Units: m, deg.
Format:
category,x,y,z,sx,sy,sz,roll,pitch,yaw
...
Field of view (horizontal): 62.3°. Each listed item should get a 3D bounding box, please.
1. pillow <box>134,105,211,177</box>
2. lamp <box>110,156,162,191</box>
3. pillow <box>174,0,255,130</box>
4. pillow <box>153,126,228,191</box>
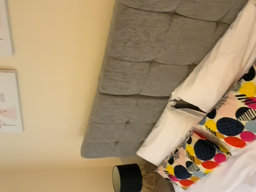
category,x,y,z,sx,sy,sz,roll,pitch,yaw
pillow,0.290,0.340,1.510,0.080,0.320,0.640,52,140,27
lamp,0.060,0.770,1.990,0.250,0.380,0.300,113,153,-45
pillow,0.490,-0.140,1.040,0.140,0.330,0.610,40,135,21
pillow,0.400,0.470,1.450,0.140,0.220,0.590,49,138,28
